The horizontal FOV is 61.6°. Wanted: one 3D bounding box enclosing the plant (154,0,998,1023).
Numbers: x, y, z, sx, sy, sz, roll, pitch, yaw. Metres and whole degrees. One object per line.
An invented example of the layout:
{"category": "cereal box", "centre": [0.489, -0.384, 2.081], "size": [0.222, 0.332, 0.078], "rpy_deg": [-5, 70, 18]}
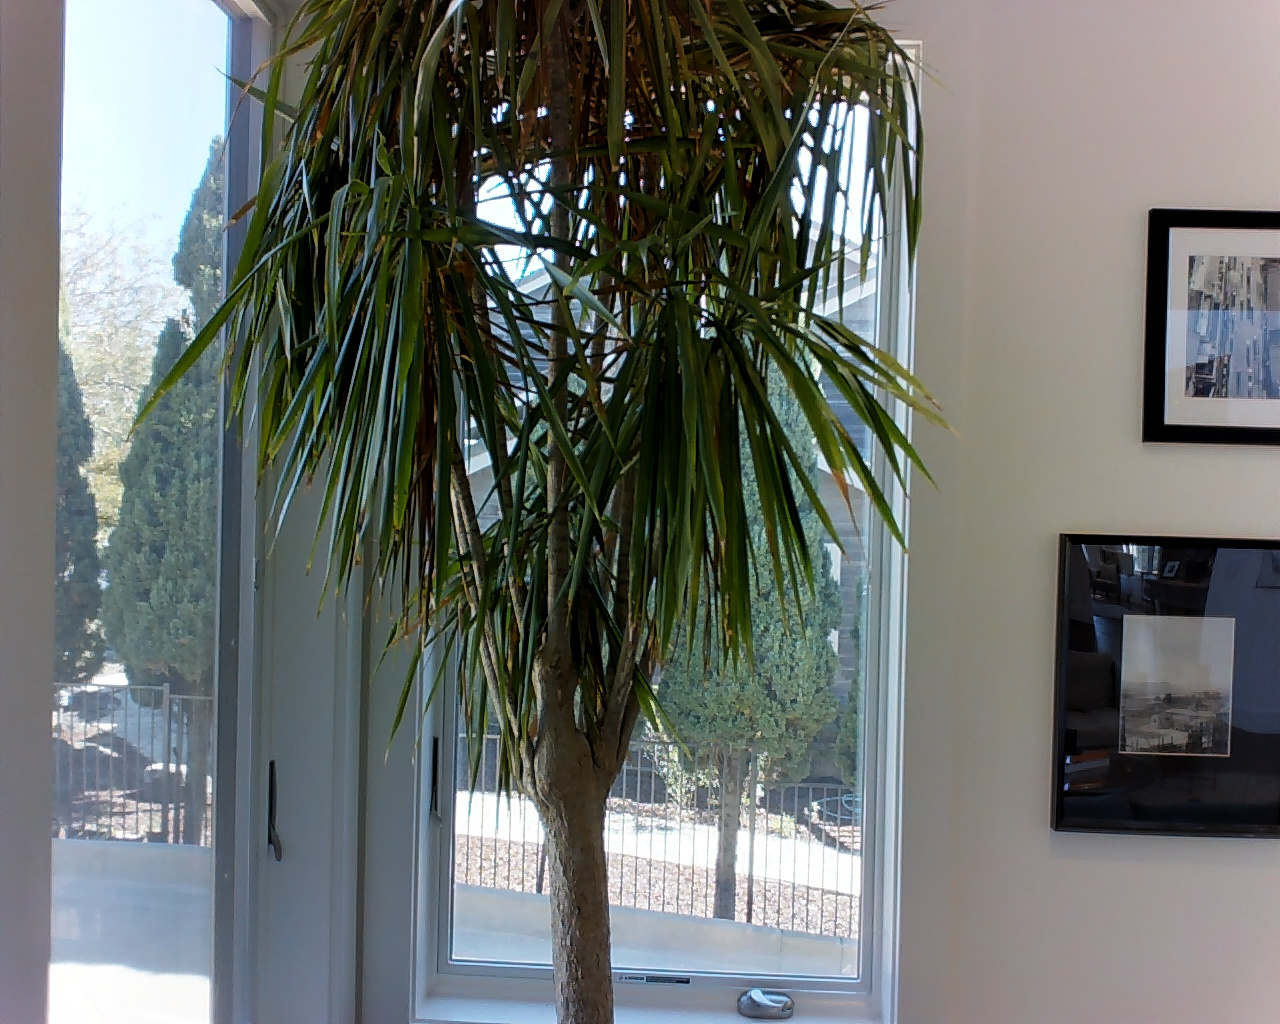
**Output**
{"category": "plant", "centre": [-0.070, 0.150, 1.570], "size": [0.920, 2.720, 0.730], "rpy_deg": [2, 1, 3]}
